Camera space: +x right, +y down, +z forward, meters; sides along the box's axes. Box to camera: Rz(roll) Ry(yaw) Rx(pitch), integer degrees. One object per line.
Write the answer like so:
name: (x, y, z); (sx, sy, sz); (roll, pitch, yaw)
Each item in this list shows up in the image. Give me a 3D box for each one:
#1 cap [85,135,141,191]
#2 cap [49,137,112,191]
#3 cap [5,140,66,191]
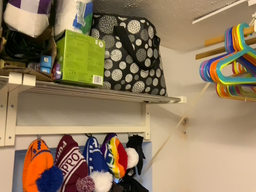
cap: (-0.080, 0.370, 1.150); (0.240, 0.290, 0.180); (5, -7, -36)
cap: (-0.230, 0.360, 1.020); (0.230, 0.290, 0.190); (5, -7, -37)
cap: (-0.390, 0.340, 0.890); (0.190, 0.280, 0.160); (6, -7, -39)
